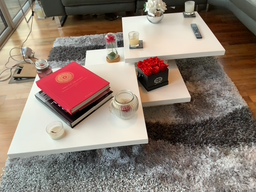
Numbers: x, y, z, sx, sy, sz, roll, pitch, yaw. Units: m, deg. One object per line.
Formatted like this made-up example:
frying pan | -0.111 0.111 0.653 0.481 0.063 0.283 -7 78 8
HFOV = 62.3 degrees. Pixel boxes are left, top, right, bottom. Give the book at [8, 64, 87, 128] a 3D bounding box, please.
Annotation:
book | -0.450 -0.020 1.190 0.290 0.100 0.310 -36 51 -29
